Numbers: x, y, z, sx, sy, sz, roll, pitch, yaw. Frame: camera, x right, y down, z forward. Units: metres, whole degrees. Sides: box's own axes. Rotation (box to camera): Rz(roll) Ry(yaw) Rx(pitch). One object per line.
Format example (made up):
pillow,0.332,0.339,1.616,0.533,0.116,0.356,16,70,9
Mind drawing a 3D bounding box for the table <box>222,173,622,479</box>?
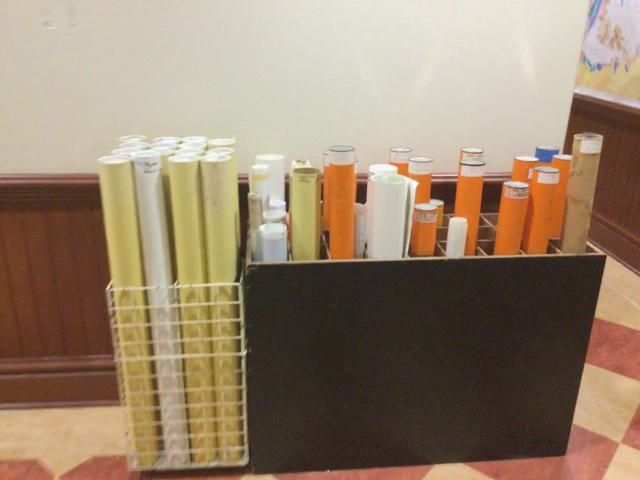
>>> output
table,0.300,0.310,2.100,1.220,0.940,0.560,-5,18,-8
